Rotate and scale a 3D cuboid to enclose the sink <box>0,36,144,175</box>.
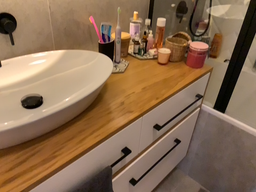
[{"bbox_3d":[-0.300,-0.020,0.680,0.390,0.120,0.610,31,43,34],"label":"sink"}]
